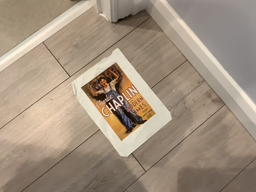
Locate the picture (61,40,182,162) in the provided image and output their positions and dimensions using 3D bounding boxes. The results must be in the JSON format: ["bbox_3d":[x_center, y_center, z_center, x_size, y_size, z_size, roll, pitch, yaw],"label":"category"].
[{"bbox_3d":[-0.020,0.010,0.690,0.240,0.030,0.310,-41,87,-8],"label":"picture"}]
